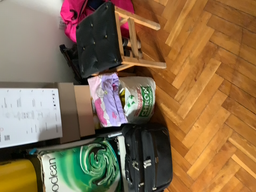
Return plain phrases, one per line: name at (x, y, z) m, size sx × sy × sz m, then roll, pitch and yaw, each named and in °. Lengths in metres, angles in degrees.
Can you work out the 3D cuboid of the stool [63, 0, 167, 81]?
stool at (-0.080, -0.310, 1.370) m, size 0.420 × 0.480 × 0.340 m, roll -12°, pitch 83°, yaw 44°
